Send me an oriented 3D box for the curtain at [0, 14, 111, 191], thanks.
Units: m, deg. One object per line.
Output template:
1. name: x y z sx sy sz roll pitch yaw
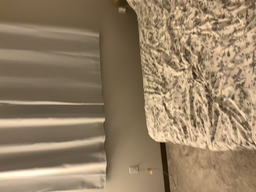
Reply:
1. curtain: -1.030 0.110 2.290 0.140 1.620 1.980 152 116 -66
